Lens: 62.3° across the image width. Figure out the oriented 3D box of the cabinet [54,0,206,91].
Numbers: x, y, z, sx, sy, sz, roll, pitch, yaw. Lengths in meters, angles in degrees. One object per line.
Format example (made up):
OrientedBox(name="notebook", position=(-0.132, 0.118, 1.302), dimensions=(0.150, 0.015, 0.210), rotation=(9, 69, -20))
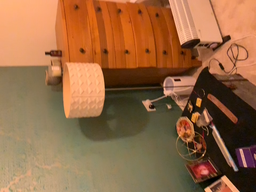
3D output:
OrientedBox(name="cabinet", position=(-0.010, -0.470, 1.990), dimensions=(0.570, 1.220, 0.630), rotation=(144, 119, -63))
